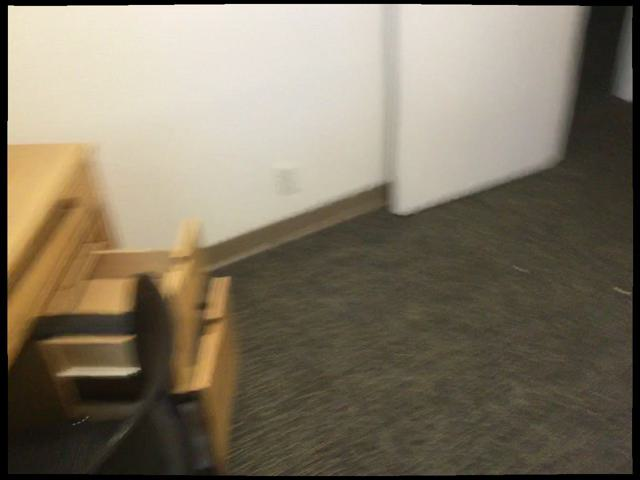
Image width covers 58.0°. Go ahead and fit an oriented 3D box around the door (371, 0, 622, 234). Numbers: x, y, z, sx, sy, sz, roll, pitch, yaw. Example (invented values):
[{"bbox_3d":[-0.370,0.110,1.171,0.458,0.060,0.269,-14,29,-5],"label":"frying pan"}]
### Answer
[{"bbox_3d":[0.749,-0.641,2.490,1.059,0.911,0.300,-21,38,-24],"label":"door"}]
